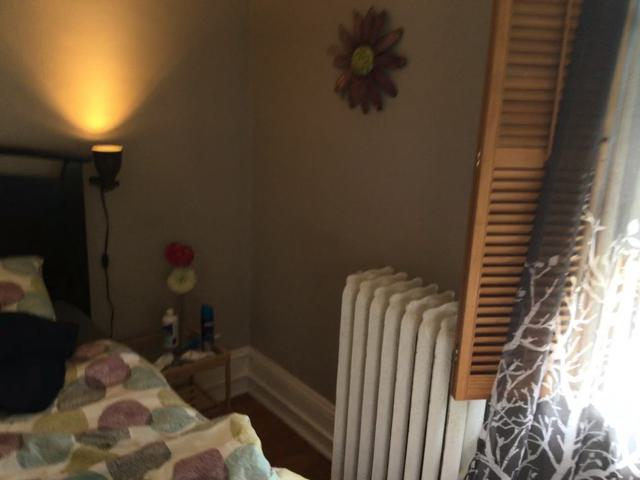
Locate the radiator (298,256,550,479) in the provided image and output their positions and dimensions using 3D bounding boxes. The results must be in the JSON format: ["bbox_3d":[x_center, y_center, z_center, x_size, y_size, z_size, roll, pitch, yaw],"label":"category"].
[{"bbox_3d":[0.270,0.600,1.810,0.340,0.950,0.630,-6,16,-39],"label":"radiator"}]
